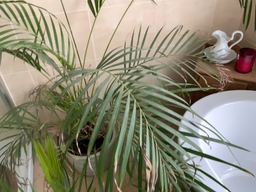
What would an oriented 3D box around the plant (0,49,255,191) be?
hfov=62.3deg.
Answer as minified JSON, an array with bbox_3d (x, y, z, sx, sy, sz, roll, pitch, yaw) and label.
[{"bbox_3d":[-0.170,0.460,0.790,0.820,0.960,0.620,-11,40,-10],"label":"plant"}]

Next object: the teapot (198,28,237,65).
[{"bbox_3d":[0.570,-0.320,1.350,0.190,0.140,0.190,13,42,17],"label":"teapot"}]
